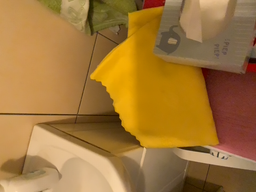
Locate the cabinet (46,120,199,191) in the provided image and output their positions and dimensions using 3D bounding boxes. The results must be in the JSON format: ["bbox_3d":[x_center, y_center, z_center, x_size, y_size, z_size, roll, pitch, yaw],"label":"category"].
[{"bbox_3d":[0.040,0.340,0.860,0.230,0.730,0.430,17,93,30],"label":"cabinet"}]
